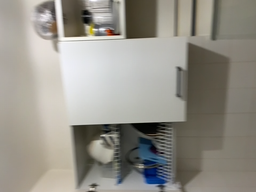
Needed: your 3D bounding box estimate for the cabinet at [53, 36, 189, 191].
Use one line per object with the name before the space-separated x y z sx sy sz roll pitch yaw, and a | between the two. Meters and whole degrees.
cabinet | -0.010 0.110 1.170 0.330 0.590 0.820 -74 -18 -75
